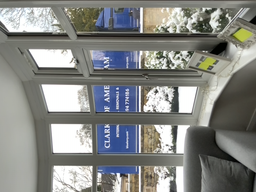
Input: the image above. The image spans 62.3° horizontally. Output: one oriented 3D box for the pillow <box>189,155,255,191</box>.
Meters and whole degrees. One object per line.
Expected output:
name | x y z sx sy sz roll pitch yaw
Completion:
pillow | 0.800 0.790 1.810 0.150 0.460 0.490 -7 -92 -47
